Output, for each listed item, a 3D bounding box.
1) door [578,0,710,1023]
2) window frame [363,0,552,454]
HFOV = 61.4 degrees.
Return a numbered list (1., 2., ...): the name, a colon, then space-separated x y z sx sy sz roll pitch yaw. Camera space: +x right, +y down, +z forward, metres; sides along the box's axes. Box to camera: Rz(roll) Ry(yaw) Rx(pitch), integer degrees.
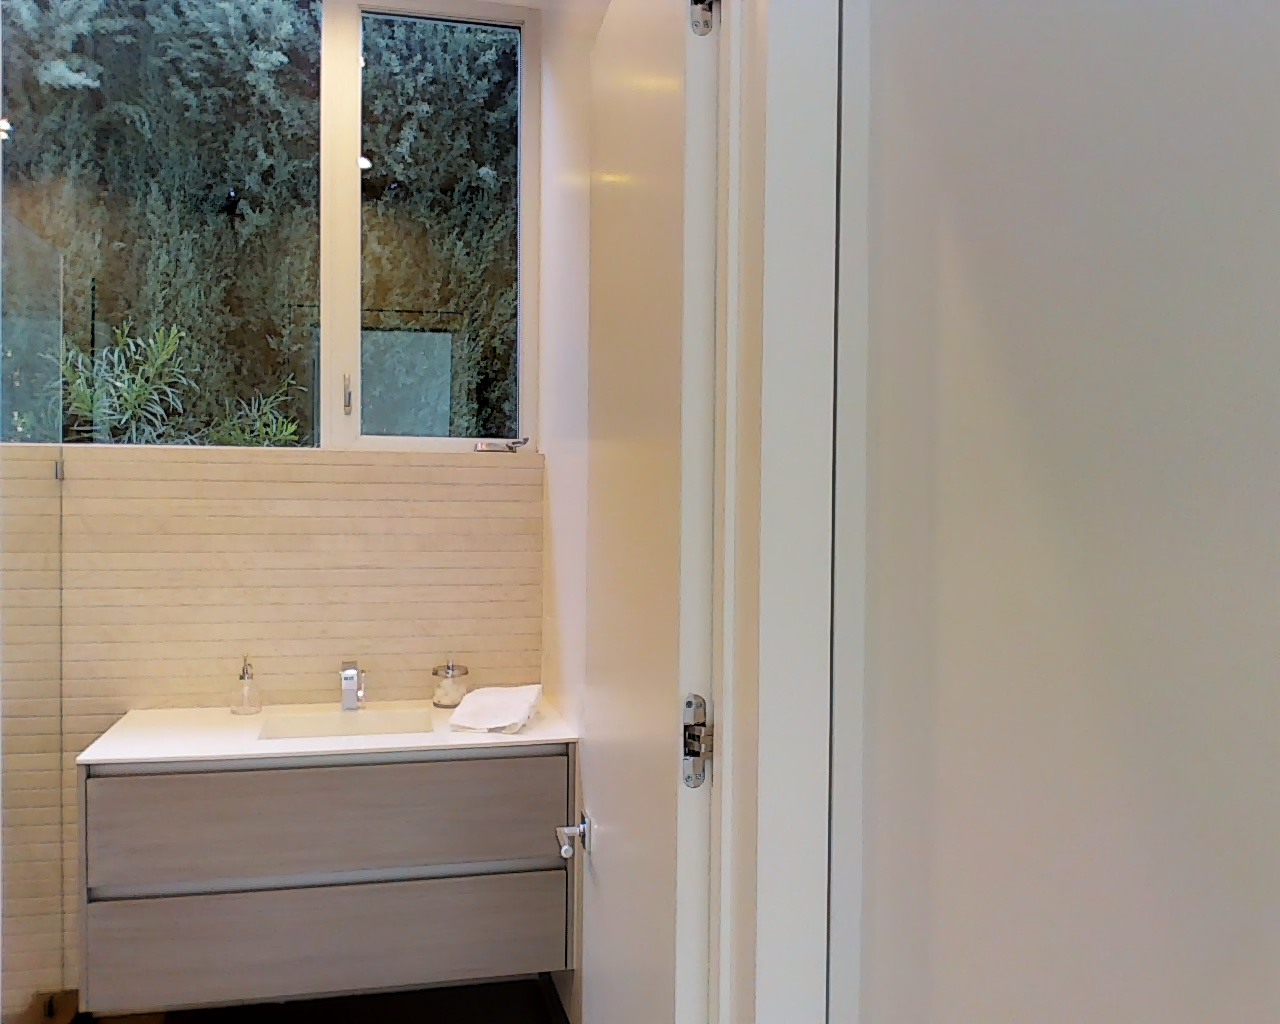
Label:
1. door: -0.020 0.280 1.760 0.050 2.490 0.840 0 1 -10
2. window frame: -0.590 -0.910 3.450 0.570 1.430 0.290 0 1 -14
